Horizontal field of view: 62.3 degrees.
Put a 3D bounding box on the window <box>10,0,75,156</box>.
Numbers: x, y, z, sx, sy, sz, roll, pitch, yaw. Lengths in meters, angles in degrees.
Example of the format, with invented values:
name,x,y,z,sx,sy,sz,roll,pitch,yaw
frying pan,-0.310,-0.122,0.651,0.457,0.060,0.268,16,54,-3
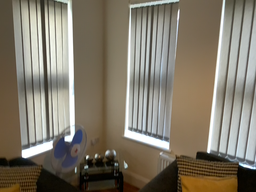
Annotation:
name,x,y,z,sx,sy,sz,roll,pitch,yaw
window,-0.830,-0.250,2.170,0.130,1.610,0.580,11,14,37

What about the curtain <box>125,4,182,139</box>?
name,x,y,z,sx,sy,sz,roll,pitch,yaw
curtain,0.250,-0.260,2.380,0.590,1.370,0.110,11,14,38

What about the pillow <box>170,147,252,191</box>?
name,x,y,z,sx,sy,sz,roll,pitch,yaw
pillow,0.600,0.700,1.610,0.490,0.490,0.180,15,-7,1
